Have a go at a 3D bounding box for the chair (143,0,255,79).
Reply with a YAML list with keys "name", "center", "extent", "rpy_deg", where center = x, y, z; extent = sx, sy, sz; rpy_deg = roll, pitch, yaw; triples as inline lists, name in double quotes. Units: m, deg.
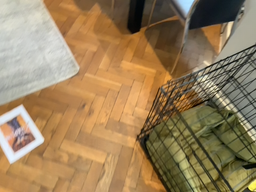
- name: "chair"
  center: [0.470, -0.650, 1.330]
  extent: [0.420, 0.990, 0.540]
  rpy_deg: [-18, 64, -15]
